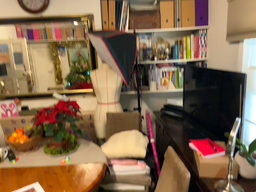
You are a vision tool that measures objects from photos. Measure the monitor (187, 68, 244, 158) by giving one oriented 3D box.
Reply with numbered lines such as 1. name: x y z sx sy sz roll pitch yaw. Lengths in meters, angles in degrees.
1. monitor: 0.660 0.070 1.740 0.030 0.550 0.780 -4 12 -7

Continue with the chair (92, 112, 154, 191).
1. chair: -0.020 0.710 2.020 0.470 0.980 0.580 -2 12 1
